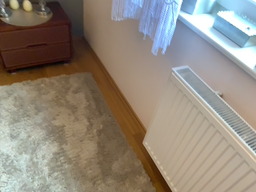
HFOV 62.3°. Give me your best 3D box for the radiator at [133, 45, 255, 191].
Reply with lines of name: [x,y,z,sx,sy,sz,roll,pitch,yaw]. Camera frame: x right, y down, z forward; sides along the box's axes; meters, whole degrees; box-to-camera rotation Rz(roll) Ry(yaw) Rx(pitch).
radiator: [0.360,0.320,0.980,0.220,0.710,0.860,-12,50,-22]
